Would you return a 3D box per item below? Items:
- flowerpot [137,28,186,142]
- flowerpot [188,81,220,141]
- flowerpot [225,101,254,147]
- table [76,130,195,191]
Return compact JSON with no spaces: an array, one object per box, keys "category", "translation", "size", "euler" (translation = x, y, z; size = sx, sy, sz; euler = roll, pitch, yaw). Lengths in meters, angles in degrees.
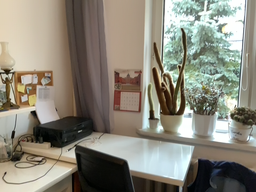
[{"category":"flowerpot","translation":[0.300,-0.100,1.910],"size":[0.340,0.930,0.280],"euler":[4,7,24]},{"category":"flowerpot","translation":[0.700,0.120,1.950],"size":[0.230,0.490,0.280],"euler":[4,7,24]},{"category":"flowerpot","translation":[0.970,0.230,1.840],"size":[0.180,0.320,0.280],"euler":[5,8,29]},{"category":"table","translation":[0.110,0.820,1.730],"size":[0.710,0.830,0.760],"euler":[4,7,24]}]
